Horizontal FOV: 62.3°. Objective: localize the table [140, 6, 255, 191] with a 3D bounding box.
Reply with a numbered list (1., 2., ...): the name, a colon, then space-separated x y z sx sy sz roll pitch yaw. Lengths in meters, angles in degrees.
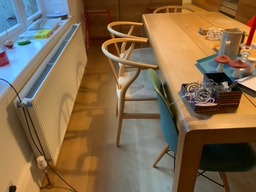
1. table: 0.620 -0.160 1.790 0.890 0.740 2.120 -2 32 0
